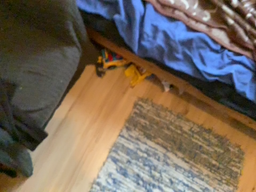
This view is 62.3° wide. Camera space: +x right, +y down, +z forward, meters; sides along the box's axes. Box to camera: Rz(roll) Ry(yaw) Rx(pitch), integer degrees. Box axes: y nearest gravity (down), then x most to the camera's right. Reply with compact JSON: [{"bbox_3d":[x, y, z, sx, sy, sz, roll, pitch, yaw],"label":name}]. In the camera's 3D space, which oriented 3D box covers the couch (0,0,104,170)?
[{"bbox_3d":[-0.660,-0.210,1.010,0.800,0.670,0.770,29,71,3],"label":"couch"}]
